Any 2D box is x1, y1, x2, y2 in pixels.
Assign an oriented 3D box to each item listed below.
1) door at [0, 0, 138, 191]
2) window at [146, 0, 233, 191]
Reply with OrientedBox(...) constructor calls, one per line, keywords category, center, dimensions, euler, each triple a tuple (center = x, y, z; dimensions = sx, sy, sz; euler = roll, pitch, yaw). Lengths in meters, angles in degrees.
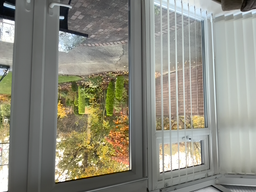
OrientedBox(category="door", center=(-0.550, -0.440, 1.300), dimensions=(1.390, 2.020, 0.160), euler=(3, 174, -35))
OrientedBox(category="window", center=(0.630, 0.000, 2.050), dimensions=(1.040, 1.710, 0.110), euler=(3, 174, -34))
